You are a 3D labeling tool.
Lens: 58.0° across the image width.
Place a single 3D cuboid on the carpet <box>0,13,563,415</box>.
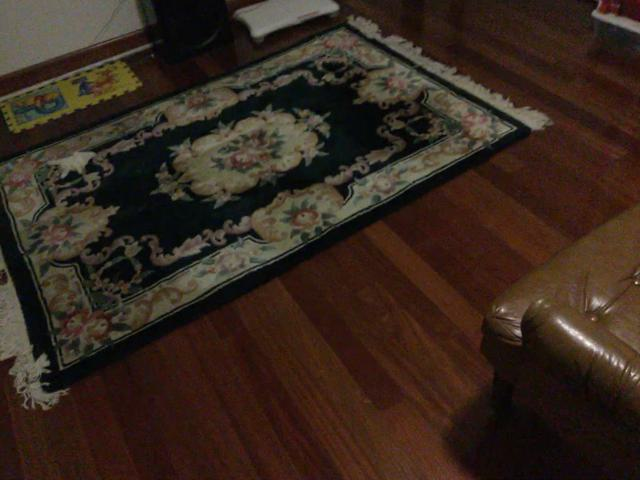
[{"bbox_3d":[-0.240,-0.330,2.190,1.890,0.060,1.230,-28,49,-19],"label":"carpet"}]
